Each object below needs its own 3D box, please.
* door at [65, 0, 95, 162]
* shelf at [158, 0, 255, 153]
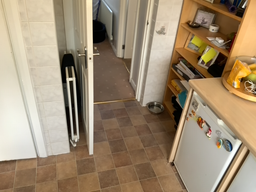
[{"bbox_3d":[-0.410,-0.460,1.740,0.120,2.070,0.820,-6,37,-17],"label":"door"},{"bbox_3d":[0.730,-0.510,1.890,0.290,2.030,0.840,-5,37,-15],"label":"shelf"}]
